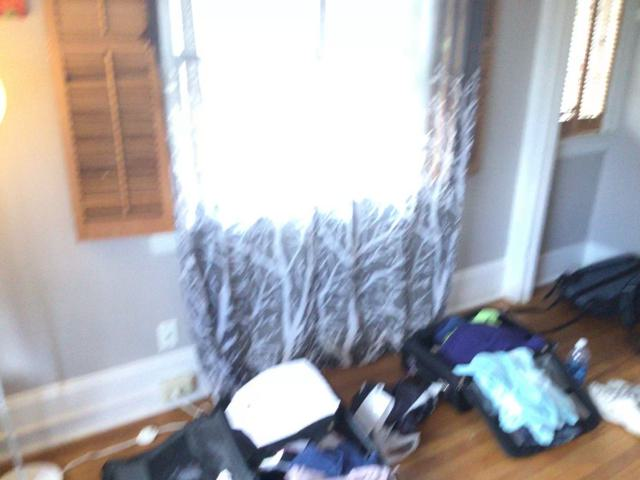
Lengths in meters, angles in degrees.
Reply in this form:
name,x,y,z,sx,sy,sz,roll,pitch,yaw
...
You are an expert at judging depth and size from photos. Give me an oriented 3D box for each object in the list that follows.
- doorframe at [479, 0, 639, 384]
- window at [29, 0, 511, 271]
name,x,y,z,sx,sy,sz,roll,pitch,yaw
doorframe,1.280,-0.540,2.450,0.290,2.170,1.010,-14,26,-32
window,0.000,-0.720,2.090,1.860,1.290,0.160,-14,26,-32
